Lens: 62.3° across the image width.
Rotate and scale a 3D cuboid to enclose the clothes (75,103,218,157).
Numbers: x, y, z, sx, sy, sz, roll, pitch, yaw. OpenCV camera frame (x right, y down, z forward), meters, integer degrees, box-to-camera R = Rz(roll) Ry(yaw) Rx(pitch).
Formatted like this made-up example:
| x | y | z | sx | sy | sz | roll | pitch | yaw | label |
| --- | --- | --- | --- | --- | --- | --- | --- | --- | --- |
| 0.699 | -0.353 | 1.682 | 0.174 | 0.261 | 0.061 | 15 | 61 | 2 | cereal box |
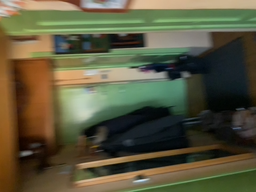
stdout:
| x | y | z | sx | sy | sz | roll | pitch | yaw | label |
| --- | --- | --- | --- | --- | --- | --- | --- | --- | --- |
| 0.090 | 0.330 | 2.710 | 1.360 | 1.420 | 0.330 | 177 | 88 | -78 | clothes |
